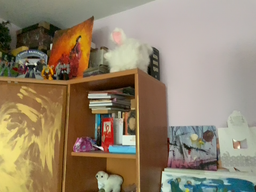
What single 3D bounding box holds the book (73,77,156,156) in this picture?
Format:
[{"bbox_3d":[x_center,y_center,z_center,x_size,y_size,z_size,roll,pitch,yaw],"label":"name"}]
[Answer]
[{"bbox_3d":[-0.050,0.120,1.100,0.290,0.330,0.330,-5,-12,27],"label":"book"}]
